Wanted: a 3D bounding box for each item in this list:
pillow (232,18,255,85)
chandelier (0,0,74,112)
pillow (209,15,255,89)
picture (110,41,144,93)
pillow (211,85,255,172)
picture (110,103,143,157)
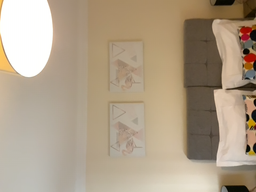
[{"bbox_3d":[1.240,-0.440,2.140,0.160,0.310,0.630,10,-100,-54],"label":"pillow"},{"bbox_3d":[-0.470,-0.220,0.770,0.450,0.380,0.350,-86,-5,-56],"label":"chandelier"},{"bbox_3d":[1.200,-0.460,2.290,0.220,0.570,0.740,14,-104,-80],"label":"pillow"},{"bbox_3d":[-0.010,-0.340,2.480,0.020,0.390,0.610,63,-153,-83],"label":"picture"},{"bbox_3d":[1.160,0.320,2.200,0.230,0.540,0.830,19,-108,-66],"label":"pillow"},{"bbox_3d":[-0.020,0.380,2.400,0.040,0.370,0.590,61,-151,-84],"label":"picture"}]
